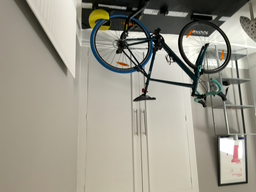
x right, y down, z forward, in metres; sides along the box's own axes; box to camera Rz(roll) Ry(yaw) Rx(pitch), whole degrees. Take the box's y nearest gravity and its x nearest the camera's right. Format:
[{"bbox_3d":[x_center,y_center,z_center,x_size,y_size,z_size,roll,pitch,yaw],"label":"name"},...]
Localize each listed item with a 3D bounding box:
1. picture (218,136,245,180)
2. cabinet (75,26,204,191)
[{"bbox_3d":[1.630,0.960,3.330,0.430,0.630,0.070,1,174,-19],"label":"picture"},{"bbox_3d":[0.160,0.650,2.820,1.630,3.070,0.310,2,167,-17],"label":"cabinet"}]
